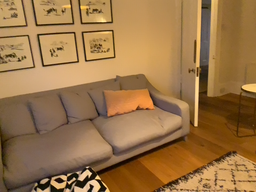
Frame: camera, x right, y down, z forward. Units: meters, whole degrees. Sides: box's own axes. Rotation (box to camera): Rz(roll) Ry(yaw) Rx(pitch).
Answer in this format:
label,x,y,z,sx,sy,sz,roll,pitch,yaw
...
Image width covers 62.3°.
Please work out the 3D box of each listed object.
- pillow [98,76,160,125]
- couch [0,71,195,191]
label,x,y,z,sx,sy,sz,roll,pitch,yaw
pillow,0.020,0.070,2.650,0.700,0.350,0.130,26,9,-28
couch,-0.390,0.300,2.420,2.100,0.750,1.040,-13,19,-29
